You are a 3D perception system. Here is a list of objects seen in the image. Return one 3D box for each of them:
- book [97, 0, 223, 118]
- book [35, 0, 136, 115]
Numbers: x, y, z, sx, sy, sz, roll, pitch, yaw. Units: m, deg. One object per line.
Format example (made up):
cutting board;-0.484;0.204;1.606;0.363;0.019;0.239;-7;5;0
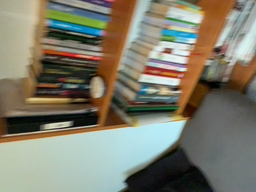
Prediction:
book;0.120;-0.250;0.910;0.260;0.290;0.630;46;127;43
book;-0.160;-0.220;0.730;0.210;0.210;0.540;48;129;42
